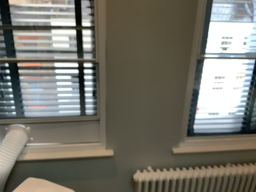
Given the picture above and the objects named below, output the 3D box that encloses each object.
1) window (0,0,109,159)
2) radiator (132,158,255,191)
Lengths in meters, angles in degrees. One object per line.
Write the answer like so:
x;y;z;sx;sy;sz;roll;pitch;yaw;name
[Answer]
-0.530;-0.190;1.190;0.840;1.240;0.040;-1;21;-9;window
0.770;0.730;1.640;1.480;0.490;0.100;-1;21;-9;radiator
